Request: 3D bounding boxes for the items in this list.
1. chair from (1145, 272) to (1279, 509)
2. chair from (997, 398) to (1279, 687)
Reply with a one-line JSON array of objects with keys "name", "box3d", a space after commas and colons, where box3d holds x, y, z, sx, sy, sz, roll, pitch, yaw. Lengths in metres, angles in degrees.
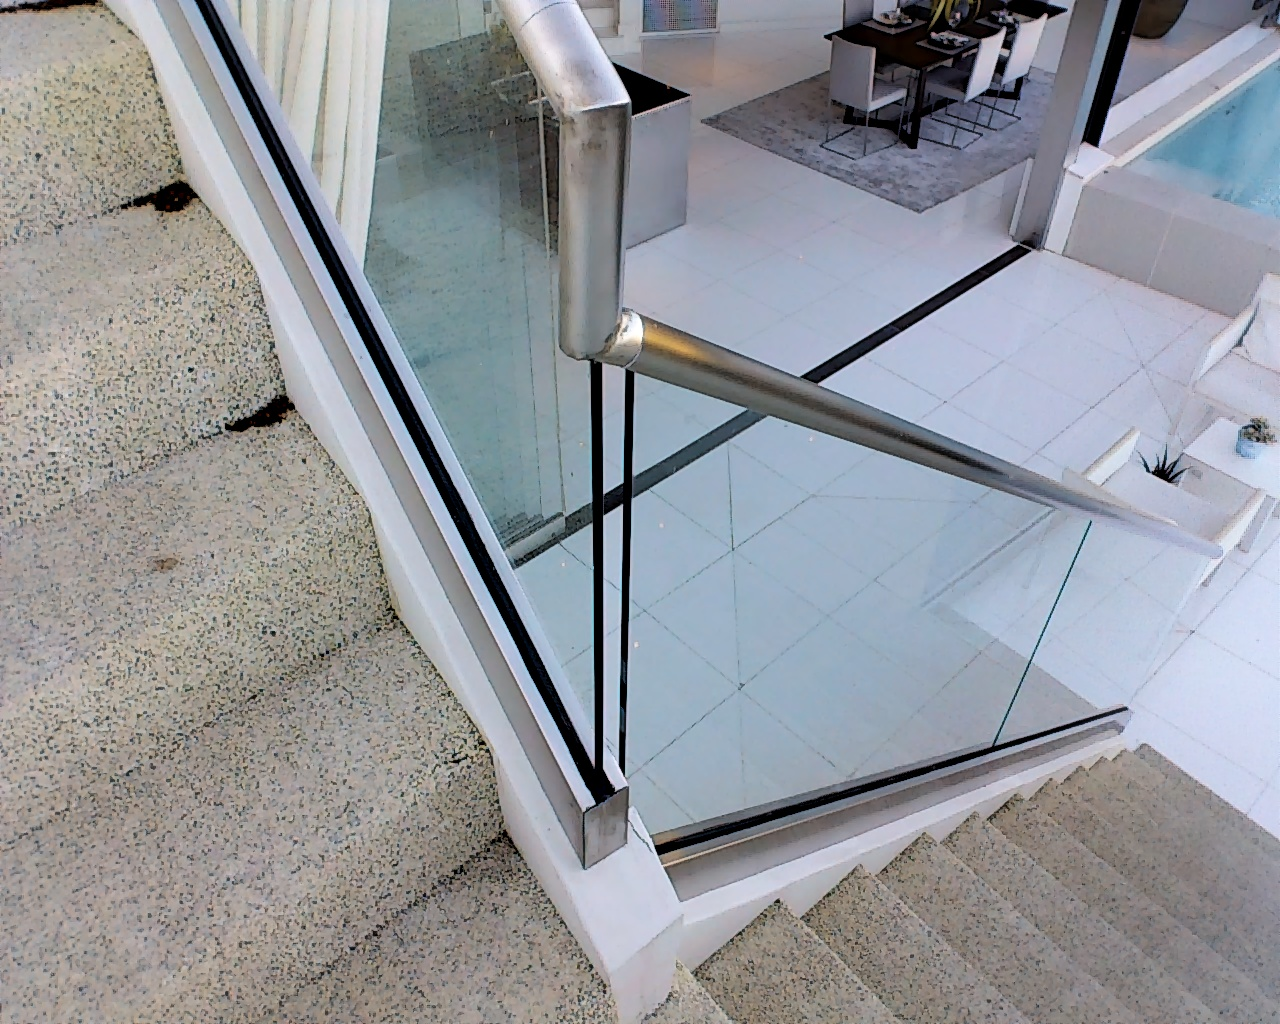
[{"name": "chair", "box3d": [3.430, -0.680, 5.870, 0.820, 0.780, 0.750, -33, 52, -31]}, {"name": "chair", "box3d": [2.300, 0.120, 4.970, 0.830, 0.760, 0.770, -32, 52, -31]}]
